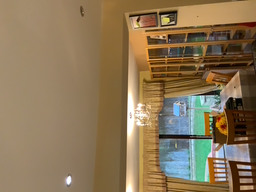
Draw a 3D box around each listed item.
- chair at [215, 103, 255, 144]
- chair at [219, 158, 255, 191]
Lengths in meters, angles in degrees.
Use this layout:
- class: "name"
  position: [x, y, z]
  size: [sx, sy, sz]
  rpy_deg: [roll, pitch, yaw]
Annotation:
- class: "chair"
  position: [1.680, 0.370, 2.690]
  size: [0.530, 0.950, 0.460]
  rpy_deg: [55, -146, -72]
- class: "chair"
  position: [1.670, 0.990, 2.520]
  size: [0.550, 0.960, 0.440]
  rpy_deg: [55, -146, -72]
